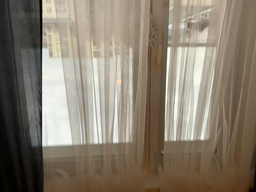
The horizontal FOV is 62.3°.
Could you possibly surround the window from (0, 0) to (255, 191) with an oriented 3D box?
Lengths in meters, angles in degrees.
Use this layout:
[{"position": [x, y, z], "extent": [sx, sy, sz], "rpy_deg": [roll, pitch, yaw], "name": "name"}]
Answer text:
[{"position": [0.020, -0.190, 1.030], "extent": [1.550, 1.730, 0.240], "rpy_deg": [-1, -167, -5], "name": "window"}]
